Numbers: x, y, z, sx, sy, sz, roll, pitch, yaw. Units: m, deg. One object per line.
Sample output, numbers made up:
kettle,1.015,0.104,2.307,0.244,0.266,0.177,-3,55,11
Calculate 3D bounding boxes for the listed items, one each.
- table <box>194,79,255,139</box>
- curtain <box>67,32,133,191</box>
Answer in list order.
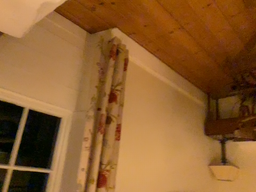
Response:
table,1.350,0.220,3.010,0.660,0.670,0.410,-16,151,42
curtain,-0.220,0.680,1.470,0.170,2.430,0.360,-15,152,41
